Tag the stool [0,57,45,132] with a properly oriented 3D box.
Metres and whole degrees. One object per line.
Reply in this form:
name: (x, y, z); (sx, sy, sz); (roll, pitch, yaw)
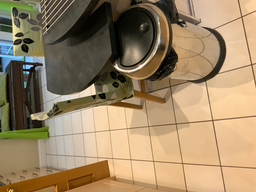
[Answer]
stool: (-1.880, -0.010, 3.760); (0.520, 0.530, 1.190); (-15, 79, 47)
